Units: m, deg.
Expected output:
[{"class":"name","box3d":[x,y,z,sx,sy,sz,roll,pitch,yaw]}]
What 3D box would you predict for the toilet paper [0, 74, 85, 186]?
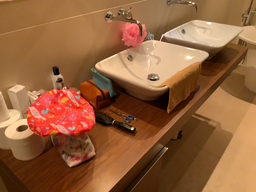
[{"class":"toilet paper","box3d":[-0.390,0.090,0.790,0.330,0.160,0.290,25,41,33]}]
